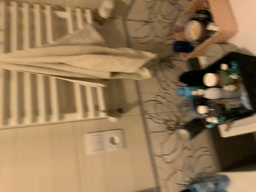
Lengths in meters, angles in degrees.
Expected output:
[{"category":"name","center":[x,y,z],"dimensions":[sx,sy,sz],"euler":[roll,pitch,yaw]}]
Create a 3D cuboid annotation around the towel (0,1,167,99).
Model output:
[{"category":"towel","center":[-0.180,-0.160,0.830],"dimensions":[0.220,0.590,0.250],"euler":[139,123,-61]}]
